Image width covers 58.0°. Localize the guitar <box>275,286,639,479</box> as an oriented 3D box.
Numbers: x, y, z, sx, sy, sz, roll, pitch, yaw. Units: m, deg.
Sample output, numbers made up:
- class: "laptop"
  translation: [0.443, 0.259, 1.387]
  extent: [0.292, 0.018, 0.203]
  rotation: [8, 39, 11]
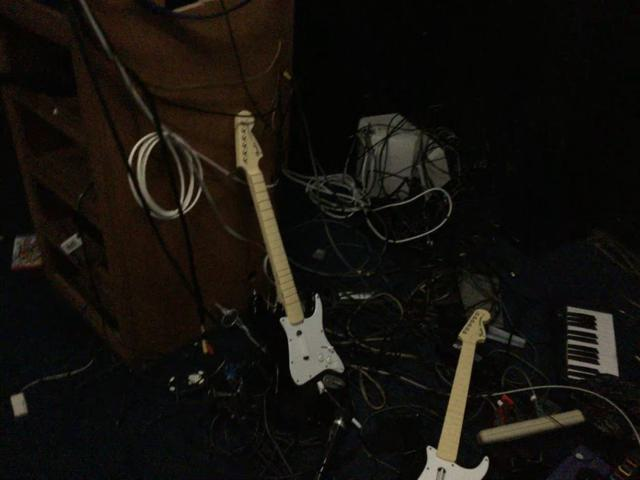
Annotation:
- class: "guitar"
  translation: [0.350, 0.450, 1.520]
  extent: [0.700, 0.110, 0.720]
  rotation: [-14, 36, -25]
